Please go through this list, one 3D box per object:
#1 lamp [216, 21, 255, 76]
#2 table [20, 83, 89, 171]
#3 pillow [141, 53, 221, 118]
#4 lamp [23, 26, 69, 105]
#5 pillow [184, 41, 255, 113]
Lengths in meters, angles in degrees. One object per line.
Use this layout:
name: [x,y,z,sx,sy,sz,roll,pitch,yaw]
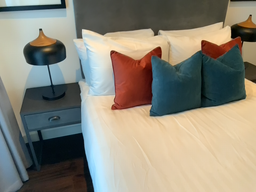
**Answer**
lamp: [1.130,-0.480,2.130,0.270,0.460,0.270,-9,31,-15]
table: [-0.620,0.260,1.890,0.440,0.590,0.410,-8,31,-14]
pillow: [0.310,-0.060,1.330,0.390,0.360,0.140,-9,49,-14]
lamp: [-0.620,-0.240,1.660,0.220,0.520,0.300,-8,31,-14]
pillow: [0.630,-0.130,1.420,0.360,0.370,0.240,-8,38,-14]
